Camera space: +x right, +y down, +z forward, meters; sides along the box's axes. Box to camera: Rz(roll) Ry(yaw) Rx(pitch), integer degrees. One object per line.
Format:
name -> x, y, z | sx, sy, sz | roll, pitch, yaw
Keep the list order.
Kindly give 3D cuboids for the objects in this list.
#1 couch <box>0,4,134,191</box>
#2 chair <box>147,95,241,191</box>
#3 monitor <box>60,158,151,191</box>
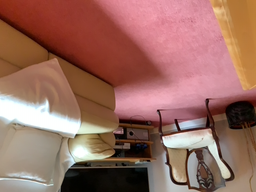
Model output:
couch -> -0.790, 0.190, 1.380 | 0.900, 0.880, 1.670 | -17, 153, 26
chair -> 0.740, 0.600, 2.450 | 0.730, 0.900, 0.650 | -18, 152, 28
monitor -> -0.230, 1.110, 2.510 | 1.110, 0.710, 0.030 | 6, 154, -21
